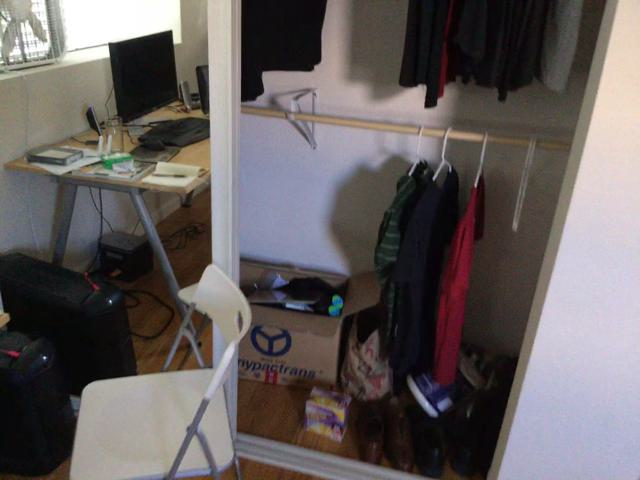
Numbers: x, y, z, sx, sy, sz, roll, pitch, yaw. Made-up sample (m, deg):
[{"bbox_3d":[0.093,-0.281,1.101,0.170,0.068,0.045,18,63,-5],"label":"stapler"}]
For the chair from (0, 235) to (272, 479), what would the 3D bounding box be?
[{"bbox_3d":[-0.480,0.470,1.610,0.600,0.760,0.570,-5,23,-13],"label":"chair"}]
